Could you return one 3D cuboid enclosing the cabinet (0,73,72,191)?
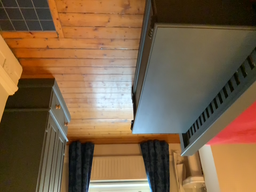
[{"bbox_3d":[-1.000,0.860,1.930,0.670,1.980,0.910,-1,150,-5],"label":"cabinet"}]
